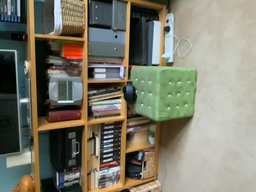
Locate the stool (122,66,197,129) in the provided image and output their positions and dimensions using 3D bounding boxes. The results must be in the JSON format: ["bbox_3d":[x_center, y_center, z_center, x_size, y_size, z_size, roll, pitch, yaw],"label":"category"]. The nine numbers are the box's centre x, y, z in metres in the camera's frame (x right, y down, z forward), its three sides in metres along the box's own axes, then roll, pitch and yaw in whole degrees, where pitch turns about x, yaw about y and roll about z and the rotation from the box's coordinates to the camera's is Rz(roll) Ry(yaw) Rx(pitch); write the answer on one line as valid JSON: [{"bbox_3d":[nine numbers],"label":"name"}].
[{"bbox_3d":[0.230,-0.020,1.670,0.420,0.380,0.400,19,110,57],"label":"stool"}]
